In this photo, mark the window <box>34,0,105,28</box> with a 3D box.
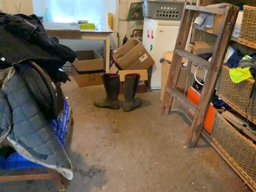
[{"bbox_3d":[-0.880,-1.740,3.170,1.060,1.360,0.060,-3,26,-13],"label":"window"}]

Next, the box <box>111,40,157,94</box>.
[{"bbox_3d":[0.050,-0.400,2.830,0.510,0.610,0.380,-3,26,-12],"label":"box"}]
